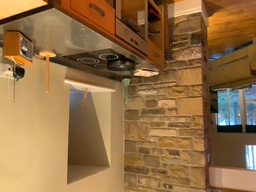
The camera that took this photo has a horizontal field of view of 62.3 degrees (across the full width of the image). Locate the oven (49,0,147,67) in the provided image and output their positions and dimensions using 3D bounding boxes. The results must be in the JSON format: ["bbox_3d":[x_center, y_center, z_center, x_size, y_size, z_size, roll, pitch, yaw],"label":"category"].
[{"bbox_3d":[-0.240,-0.660,1.880,0.640,0.640,0.560,-3,175,26],"label":"oven"}]
